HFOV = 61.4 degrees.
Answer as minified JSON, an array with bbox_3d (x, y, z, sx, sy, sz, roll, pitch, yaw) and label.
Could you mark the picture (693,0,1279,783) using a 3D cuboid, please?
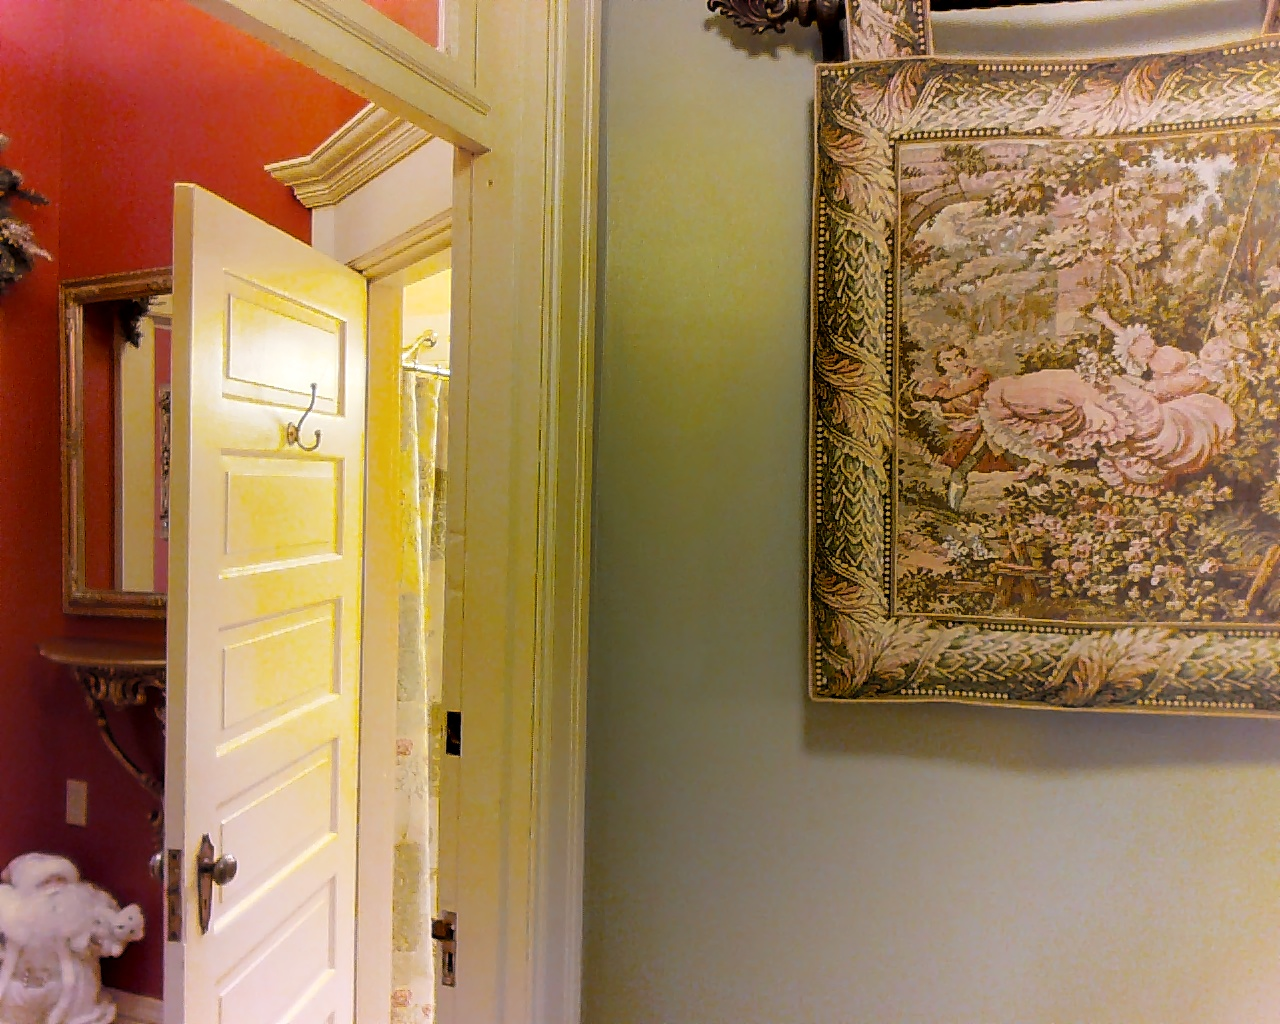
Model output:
[{"bbox_3d":[0.580,-0.220,1.550,0.960,1.120,0.220,1,0,15],"label":"picture"}]
